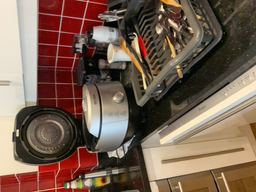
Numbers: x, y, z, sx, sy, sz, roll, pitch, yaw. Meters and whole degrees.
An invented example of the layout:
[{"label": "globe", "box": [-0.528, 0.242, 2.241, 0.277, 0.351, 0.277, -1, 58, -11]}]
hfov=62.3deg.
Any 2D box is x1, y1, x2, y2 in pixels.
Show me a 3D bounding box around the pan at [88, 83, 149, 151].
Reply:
[{"label": "pan", "box": [-0.060, 0.100, 0.980, 0.230, 0.180, 0.230, 128, 136, -54]}]
